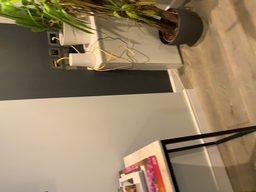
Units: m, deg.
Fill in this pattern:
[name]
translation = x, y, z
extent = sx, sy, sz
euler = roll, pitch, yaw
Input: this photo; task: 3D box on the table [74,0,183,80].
[table]
translation = -0.010, -0.440, 1.840
extent = 0.390, 0.790, 0.470
euler = -37, 60, 59
